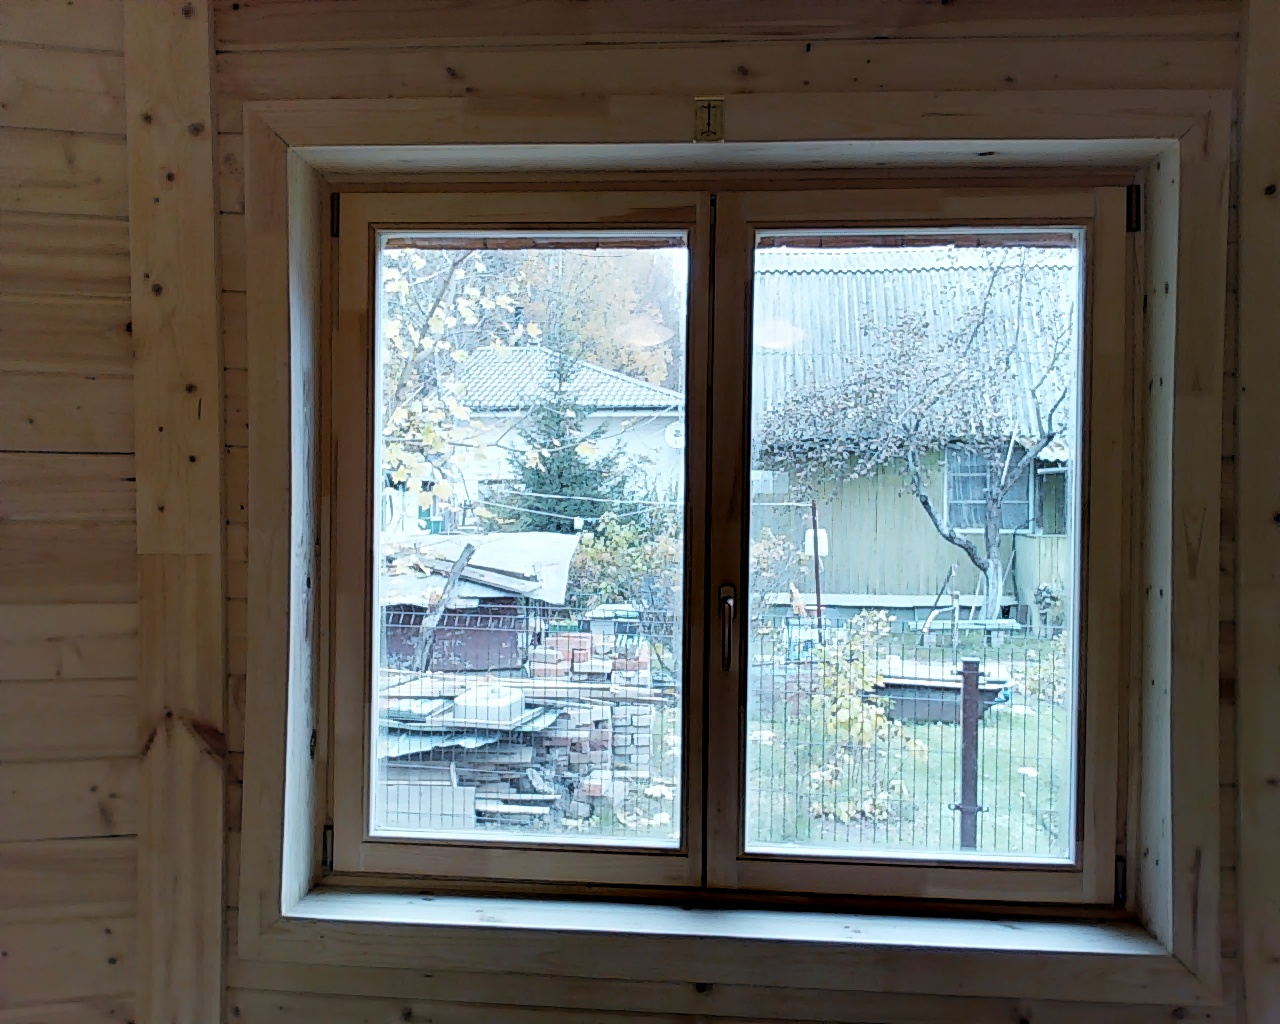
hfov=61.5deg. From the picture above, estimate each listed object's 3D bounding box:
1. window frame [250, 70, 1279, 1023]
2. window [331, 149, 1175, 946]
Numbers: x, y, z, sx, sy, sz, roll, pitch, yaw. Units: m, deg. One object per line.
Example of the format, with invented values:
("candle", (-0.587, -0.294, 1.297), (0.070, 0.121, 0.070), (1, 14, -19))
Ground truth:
("window frame", (0.170, 0.110, 1.860), (1.629, 1.581, 0.270), (1, 1, 7))
("window", (0.160, 0.050, 1.950), (1.450, 1.310, 0.140), (1, 1, 9))
